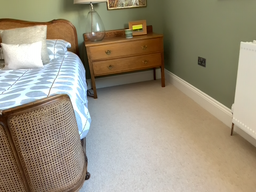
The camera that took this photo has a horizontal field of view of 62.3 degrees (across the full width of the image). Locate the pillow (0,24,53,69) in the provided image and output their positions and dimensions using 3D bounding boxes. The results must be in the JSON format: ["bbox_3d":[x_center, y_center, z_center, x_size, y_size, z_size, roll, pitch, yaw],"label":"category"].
[{"bbox_3d":[-1.140,-0.540,2.230,0.530,0.330,0.720,-9,22,-9],"label":"pillow"}]

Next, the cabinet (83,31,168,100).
[{"bbox_3d":[-0.030,-0.440,2.910,1.030,0.730,0.440,-9,22,-10],"label":"cabinet"}]
